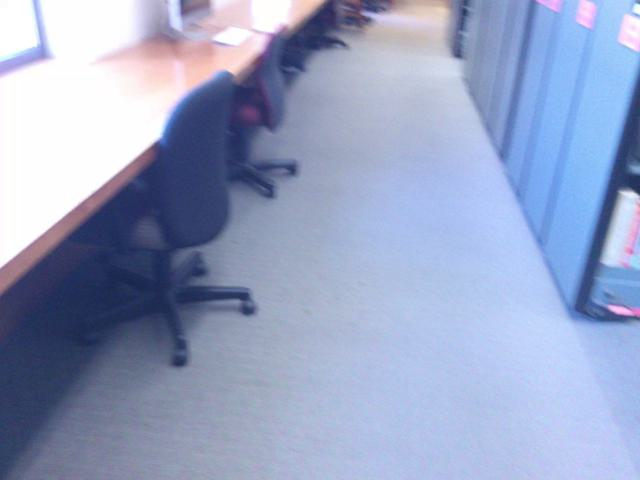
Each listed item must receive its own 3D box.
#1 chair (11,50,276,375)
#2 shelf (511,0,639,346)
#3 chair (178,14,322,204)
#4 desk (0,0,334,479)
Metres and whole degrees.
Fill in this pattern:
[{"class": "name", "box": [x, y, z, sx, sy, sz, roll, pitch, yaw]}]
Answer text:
[{"class": "chair", "box": [-0.540, -0.130, 2.010, 0.620, 0.920, 0.590, 7, 23, 6]}, {"class": "shelf", "box": [1.380, -0.650, 2.130, 0.800, 1.860, 0.990, 7, 23, 6]}, {"class": "chair", "box": [-0.370, -0.760, 3.240, 0.610, 0.890, 0.670, 7, 23, 6]}, {"class": "desk", "box": [-0.780, -0.380, 2.030, 0.850, 0.980, 6.070, 7, 23, 6]}]
